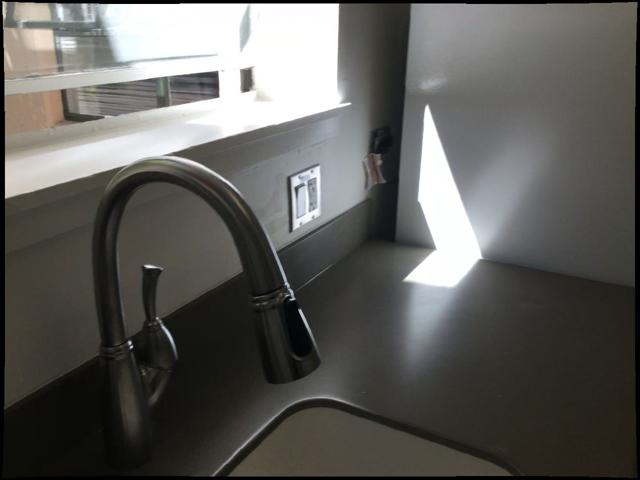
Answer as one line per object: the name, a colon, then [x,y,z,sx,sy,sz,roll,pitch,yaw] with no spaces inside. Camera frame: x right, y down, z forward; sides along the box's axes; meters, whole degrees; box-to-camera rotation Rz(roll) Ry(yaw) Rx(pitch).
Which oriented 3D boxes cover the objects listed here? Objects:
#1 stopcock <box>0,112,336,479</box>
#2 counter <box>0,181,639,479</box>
stopcock: [-0.199,0.110,0.640,0.379,0.441,0.210,12,25,28]
counter: [0.040,0.251,0.770,0.689,0.180,1.619,12,25,28]
